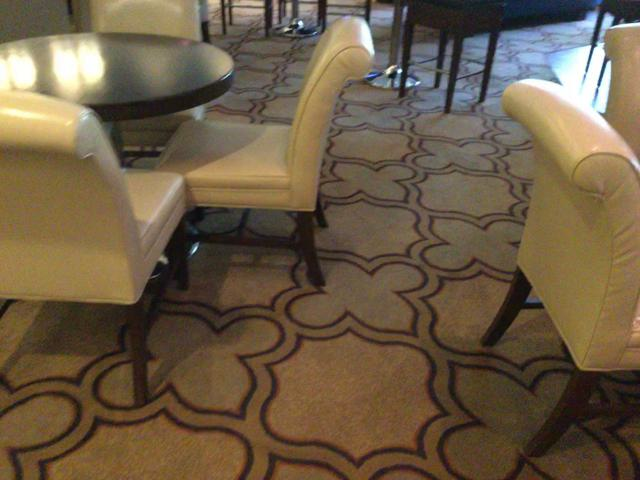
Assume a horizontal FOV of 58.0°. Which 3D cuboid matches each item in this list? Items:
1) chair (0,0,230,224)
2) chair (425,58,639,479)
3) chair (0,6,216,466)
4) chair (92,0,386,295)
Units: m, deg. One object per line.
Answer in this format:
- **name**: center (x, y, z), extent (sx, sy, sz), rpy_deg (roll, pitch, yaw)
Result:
- **chair**: center (-0.810, -0.710, 2.540), extent (0.680, 0.940, 0.840), rpy_deg (3, 34, -1)
- **chair**: center (0.840, 0.090, 1.530), extent (0.840, 0.940, 0.610), rpy_deg (-1, 34, -7)
- **chair**: center (-0.690, -0.050, 1.610), extent (0.600, 0.930, 0.850), rpy_deg (4, 34, 0)
- **chair**: center (-0.240, -0.350, 2.100), extent (0.830, 0.880, 0.560), rpy_deg (4, 34, 0)
